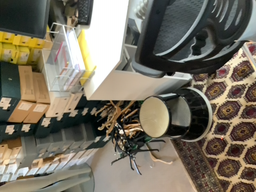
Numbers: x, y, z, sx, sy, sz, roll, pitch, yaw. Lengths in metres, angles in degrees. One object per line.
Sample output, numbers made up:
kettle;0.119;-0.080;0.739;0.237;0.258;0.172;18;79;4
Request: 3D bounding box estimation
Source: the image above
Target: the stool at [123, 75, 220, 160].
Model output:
stool;0.290;0.150;1.520;0.410;0.380;0.400;-50;54;36
